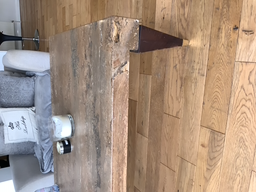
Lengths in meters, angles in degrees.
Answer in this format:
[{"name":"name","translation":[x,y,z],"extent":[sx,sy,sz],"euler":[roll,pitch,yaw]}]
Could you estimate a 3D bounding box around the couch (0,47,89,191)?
[{"name":"couch","translation":[-1.030,0.200,2.340],"extent":[1.140,0.770,1.340],"euler":[13,105,55]}]
